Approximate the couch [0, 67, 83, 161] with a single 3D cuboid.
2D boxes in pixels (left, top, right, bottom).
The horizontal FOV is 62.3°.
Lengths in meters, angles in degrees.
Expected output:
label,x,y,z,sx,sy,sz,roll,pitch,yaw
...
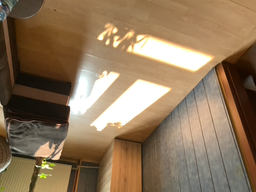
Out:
label,x,y,z,sx,sy,sz,roll,pitch,yaw
couch,-0.850,0.220,2.070,0.510,0.500,0.750,21,139,-22
